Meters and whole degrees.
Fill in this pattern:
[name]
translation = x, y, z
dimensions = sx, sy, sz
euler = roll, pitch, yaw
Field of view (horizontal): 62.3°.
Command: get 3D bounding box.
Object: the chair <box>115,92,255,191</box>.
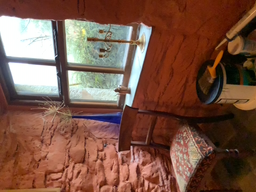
[chair]
translation = 0.390, 0.360, 1.510
dimensions = 0.540, 0.870, 0.510
euler = -102, 19, -54
